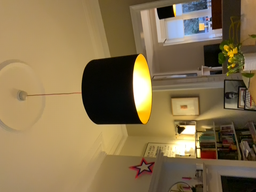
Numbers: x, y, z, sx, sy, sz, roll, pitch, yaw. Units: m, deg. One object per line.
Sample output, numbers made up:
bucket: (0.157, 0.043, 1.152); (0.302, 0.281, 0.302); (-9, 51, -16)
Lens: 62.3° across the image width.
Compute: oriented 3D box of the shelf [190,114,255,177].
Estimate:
shelf: (1.840, 0.810, 3.760); (1.190, 1.380, 0.440); (-57, -39, -60)

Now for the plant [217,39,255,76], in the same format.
plant: (0.940, -0.340, 1.800); (0.460, 0.300, 0.190); (-54, -42, -62)
